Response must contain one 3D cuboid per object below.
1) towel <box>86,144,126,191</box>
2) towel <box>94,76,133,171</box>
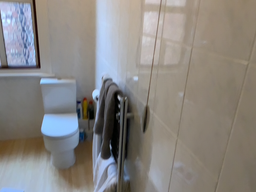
[{"bbox_3d":[-0.160,0.600,1.410,0.190,0.420,0.330,-3,22,-17],"label":"towel"},{"bbox_3d":[-0.110,0.140,1.290,0.140,0.420,0.400,-3,22,-17],"label":"towel"}]
